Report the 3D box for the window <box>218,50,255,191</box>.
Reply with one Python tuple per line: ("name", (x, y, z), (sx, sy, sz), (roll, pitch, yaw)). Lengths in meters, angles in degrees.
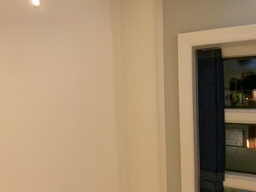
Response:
("window", (1.500, 0.910, 2.200), (0.130, 1.040, 2.750), (-8, -83, -65))
